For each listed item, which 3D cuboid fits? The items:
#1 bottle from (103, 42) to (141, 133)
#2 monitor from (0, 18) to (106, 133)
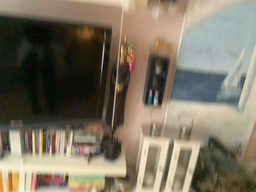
[{"bbox_3d":[-0.040,-0.060,1.430,0.170,0.560,0.200,9,20,6],"label":"bottle"},{"bbox_3d":[-0.610,-0.090,1.130,0.960,0.600,0.070,-2,21,-23],"label":"monitor"}]
